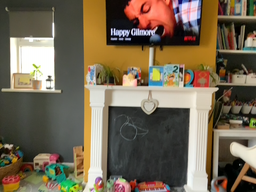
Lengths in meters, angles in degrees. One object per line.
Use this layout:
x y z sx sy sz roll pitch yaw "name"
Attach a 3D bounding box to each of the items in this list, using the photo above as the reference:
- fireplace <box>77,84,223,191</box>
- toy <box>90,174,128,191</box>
0.190 0.490 2.190 1.320 1.180 0.440 1 4 2 "fireplace"
-0.190 0.970 2.230 0.380 0.200 0.240 1 4 -1 "toy"
